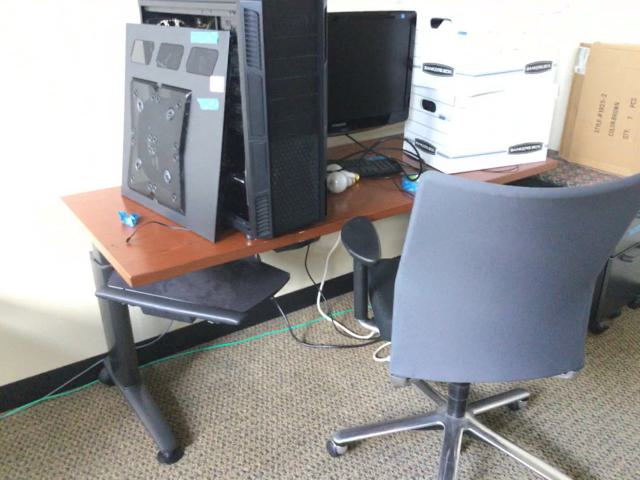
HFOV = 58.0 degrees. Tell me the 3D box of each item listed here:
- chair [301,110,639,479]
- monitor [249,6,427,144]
[{"bbox_3d":[0.380,0.200,1.540,0.680,0.970,0.860,-5,19,-13],"label":"chair"},{"bbox_3d":[0.070,-0.510,1.770,0.560,0.360,0.130,-13,22,-33],"label":"monitor"}]
